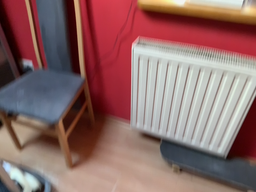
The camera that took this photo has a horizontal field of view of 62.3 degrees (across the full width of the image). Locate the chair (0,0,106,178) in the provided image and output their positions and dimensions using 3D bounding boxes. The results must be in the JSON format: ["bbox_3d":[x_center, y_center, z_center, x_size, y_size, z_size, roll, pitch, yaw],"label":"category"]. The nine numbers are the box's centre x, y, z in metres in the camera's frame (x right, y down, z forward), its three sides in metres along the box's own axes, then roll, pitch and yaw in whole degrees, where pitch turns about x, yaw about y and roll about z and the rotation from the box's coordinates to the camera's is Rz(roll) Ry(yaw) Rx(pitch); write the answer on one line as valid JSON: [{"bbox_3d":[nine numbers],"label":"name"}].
[{"bbox_3d":[-0.510,-0.130,1.260,0.500,1.130,0.540,14,41,16],"label":"chair"}]
